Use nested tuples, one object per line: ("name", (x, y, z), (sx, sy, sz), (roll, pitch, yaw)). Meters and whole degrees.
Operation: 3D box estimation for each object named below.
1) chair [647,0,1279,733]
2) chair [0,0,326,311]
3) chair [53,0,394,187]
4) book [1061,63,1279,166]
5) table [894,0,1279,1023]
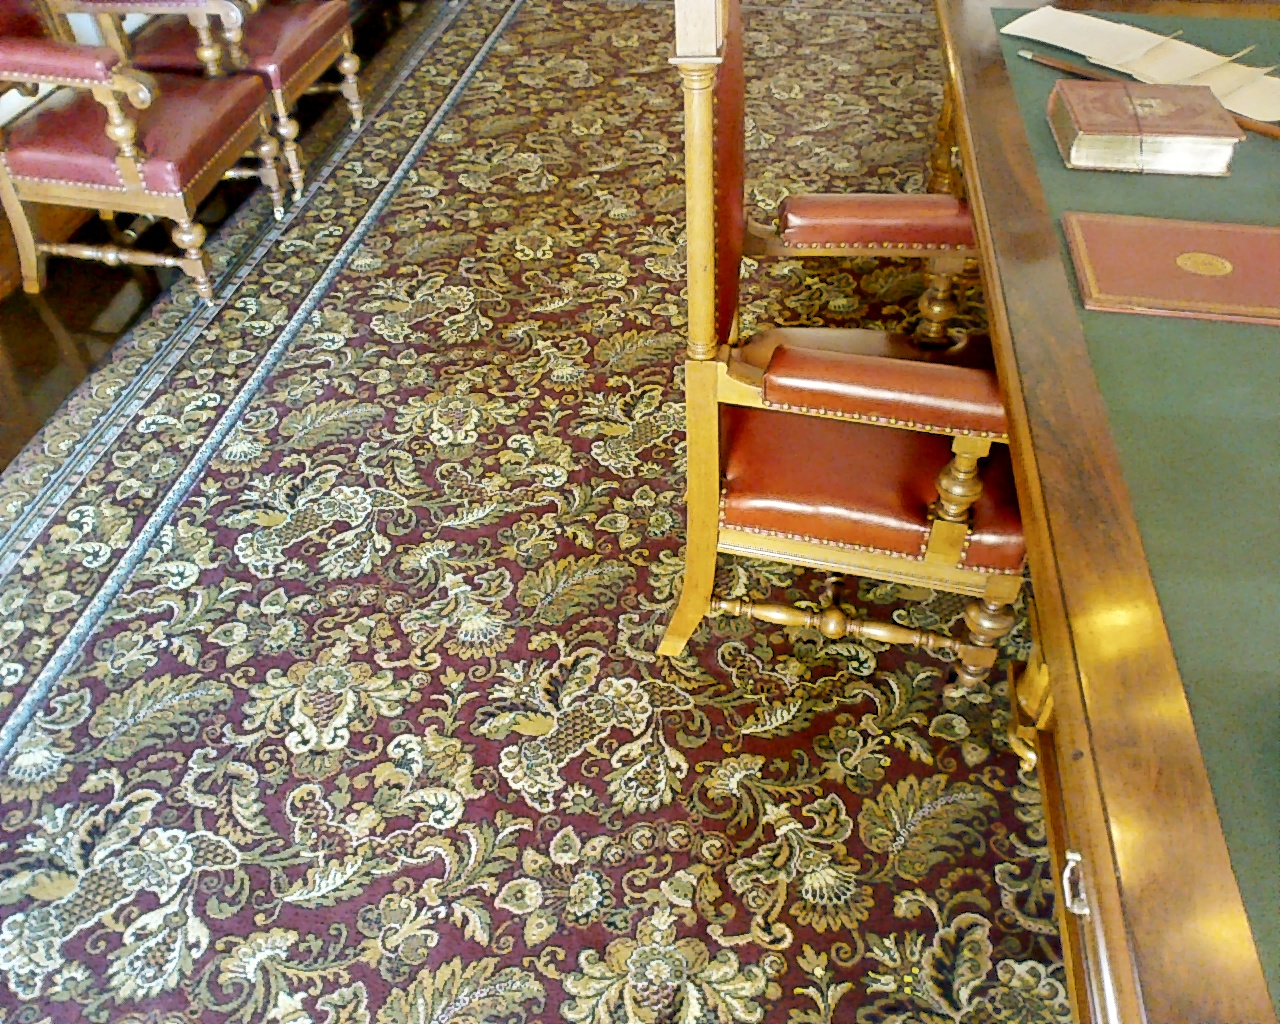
("chair", (0.420, -0.380, 1.710), (0.700, 1.310, 0.720), (7, 43, 7))
("chair", (-1.410, -1.310, 2.720), (0.740, 1.370, 0.670), (7, 43, 7))
("chair", (-1.290, -1.740, 3.220), (0.730, 1.270, 0.630), (7, 43, 7))
("book", (0.930, -0.710, 1.910), (0.310, 0.060, 0.250), (7, 43, 7))
("table", (1.190, -0.090, 1.790), (1.380, 0.770, 2.650), (7, 43, 7))
